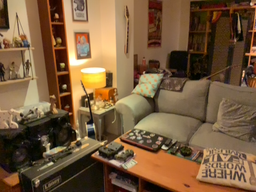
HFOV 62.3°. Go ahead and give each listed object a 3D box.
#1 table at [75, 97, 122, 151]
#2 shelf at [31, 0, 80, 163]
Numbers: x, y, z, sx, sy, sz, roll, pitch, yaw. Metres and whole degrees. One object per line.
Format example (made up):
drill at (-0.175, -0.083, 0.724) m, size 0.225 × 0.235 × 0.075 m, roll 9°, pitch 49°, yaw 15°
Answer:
table at (-0.400, 0.370, 3.090) m, size 0.370 × 0.550 × 0.590 m, roll 9°, pitch 18°, yaw 30°
shelf at (-0.810, -0.240, 2.450) m, size 0.190 × 2.060 × 0.330 m, roll 10°, pitch 19°, yaw 33°
